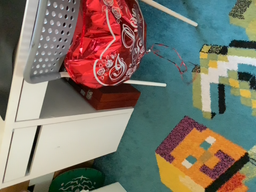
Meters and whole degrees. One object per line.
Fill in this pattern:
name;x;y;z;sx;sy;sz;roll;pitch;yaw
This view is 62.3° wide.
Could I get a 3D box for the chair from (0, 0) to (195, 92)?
chair;-0.120;-0.290;0.950;0.410;0.760;0.370;39;116;33
